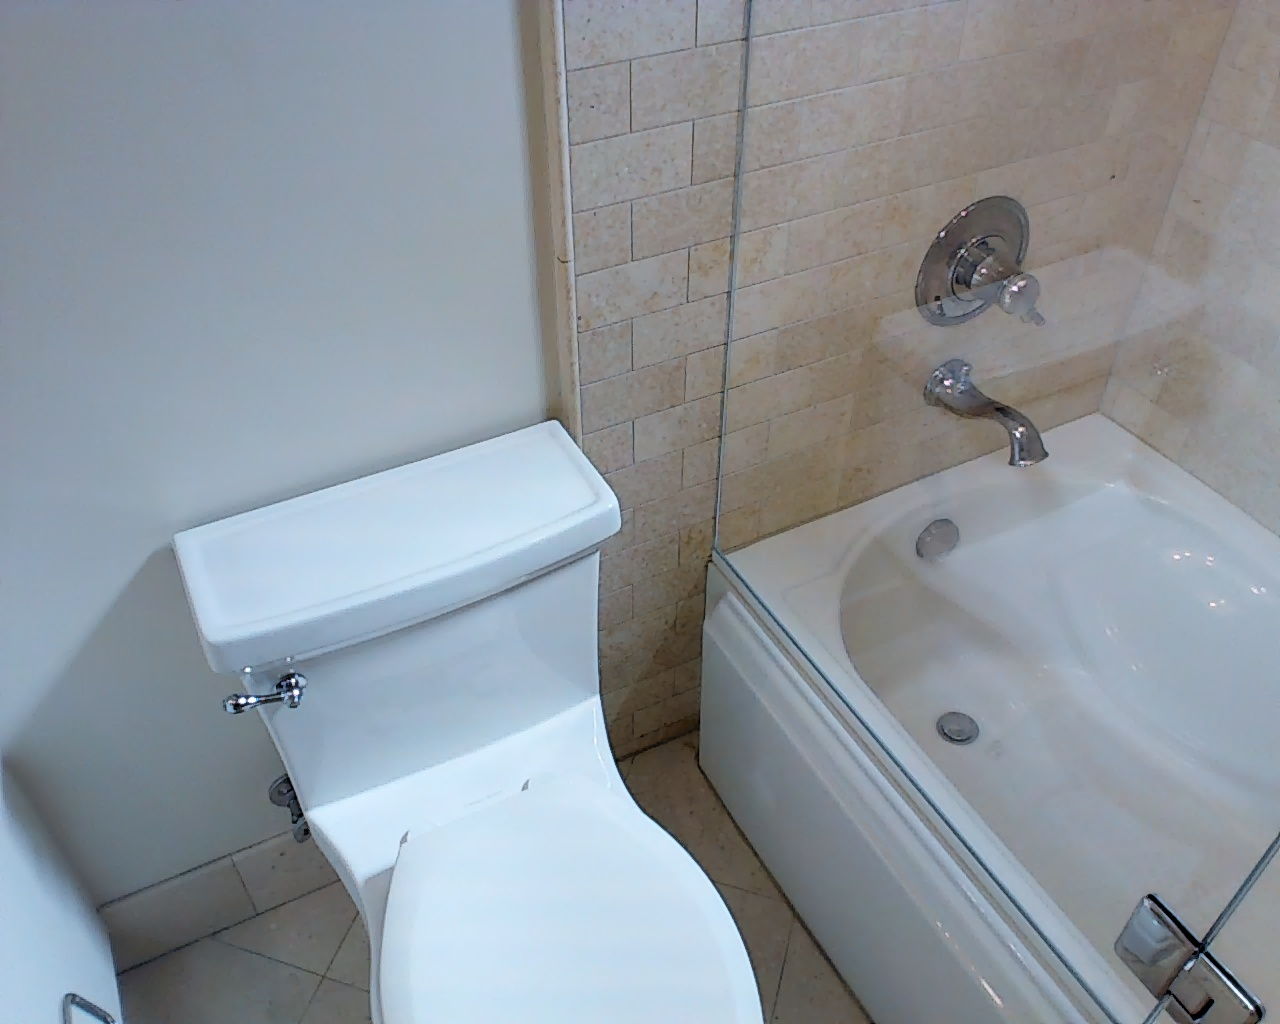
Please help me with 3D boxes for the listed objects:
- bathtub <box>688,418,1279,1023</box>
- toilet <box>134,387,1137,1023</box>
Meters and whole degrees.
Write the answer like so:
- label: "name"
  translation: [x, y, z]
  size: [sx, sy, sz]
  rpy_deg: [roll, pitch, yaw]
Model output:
- label: "bathtub"
  translation: [0.820, 0.600, 1.300]
  size: [0.860, 0.450, 1.570]
  rpy_deg: [-19, 45, -20]
- label: "toilet"
  translation: [-0.080, 0.460, 1.180]
  size: [0.560, 0.780, 0.790]
  rpy_deg: [-19, 45, -21]
